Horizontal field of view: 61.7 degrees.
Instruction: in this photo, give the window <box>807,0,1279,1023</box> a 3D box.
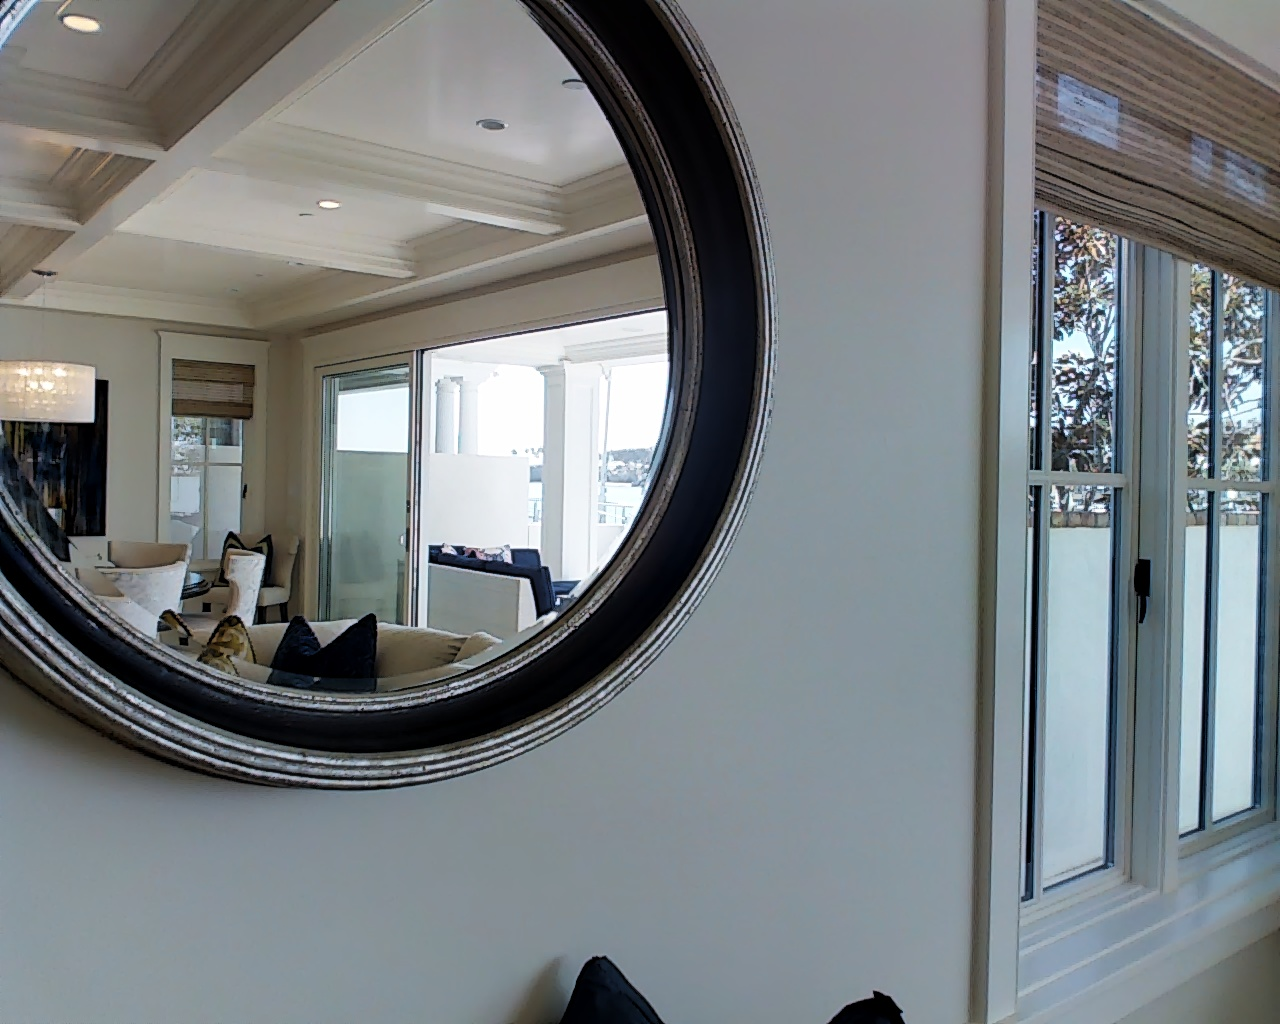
[{"bbox_3d":[1.189,-0.100,2.340,1.909,2.181,0.380,0,1,-37],"label":"window"}]
